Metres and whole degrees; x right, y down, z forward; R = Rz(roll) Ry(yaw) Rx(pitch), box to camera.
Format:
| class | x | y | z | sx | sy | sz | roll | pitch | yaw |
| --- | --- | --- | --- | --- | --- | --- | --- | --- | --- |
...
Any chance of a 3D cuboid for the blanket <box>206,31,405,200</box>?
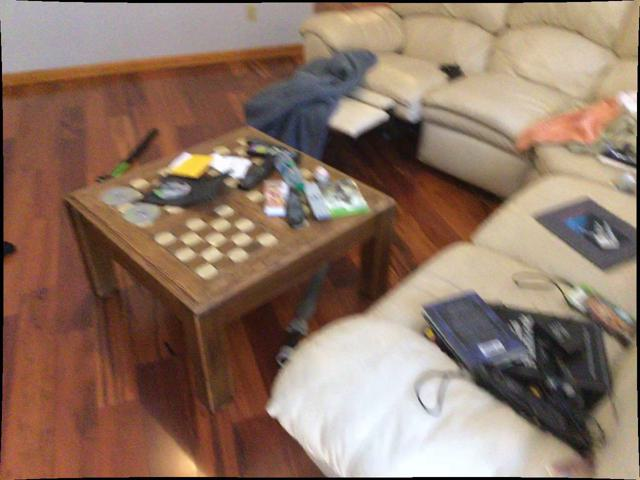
| class | x | y | z | sx | sy | sz | roll | pitch | yaw |
| --- | --- | --- | --- | --- | --- | --- | --- | --- | --- |
| blanket | -0.060 | -0.691 | 3.010 | 0.690 | 0.520 | 0.740 | 22 | 40 | 28 |

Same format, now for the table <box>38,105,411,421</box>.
| class | x | y | z | sx | sy | sz | roll | pitch | yaw |
| --- | --- | --- | --- | --- | --- | --- | --- | --- | --- |
| table | -0.320 | -0.020 | 2.100 | 0.890 | 0.490 | 0.900 | 29 | 44 | 34 |

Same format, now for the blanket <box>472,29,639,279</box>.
| class | x | y | z | sx | sy | sz | roll | pitch | yaw |
| --- | --- | --- | --- | --- | --- | --- | --- | --- | --- |
| blanket | 1.189 | -0.390 | 2.170 | 0.680 | 0.470 | 1.050 | -11 | 37 | -16 |
